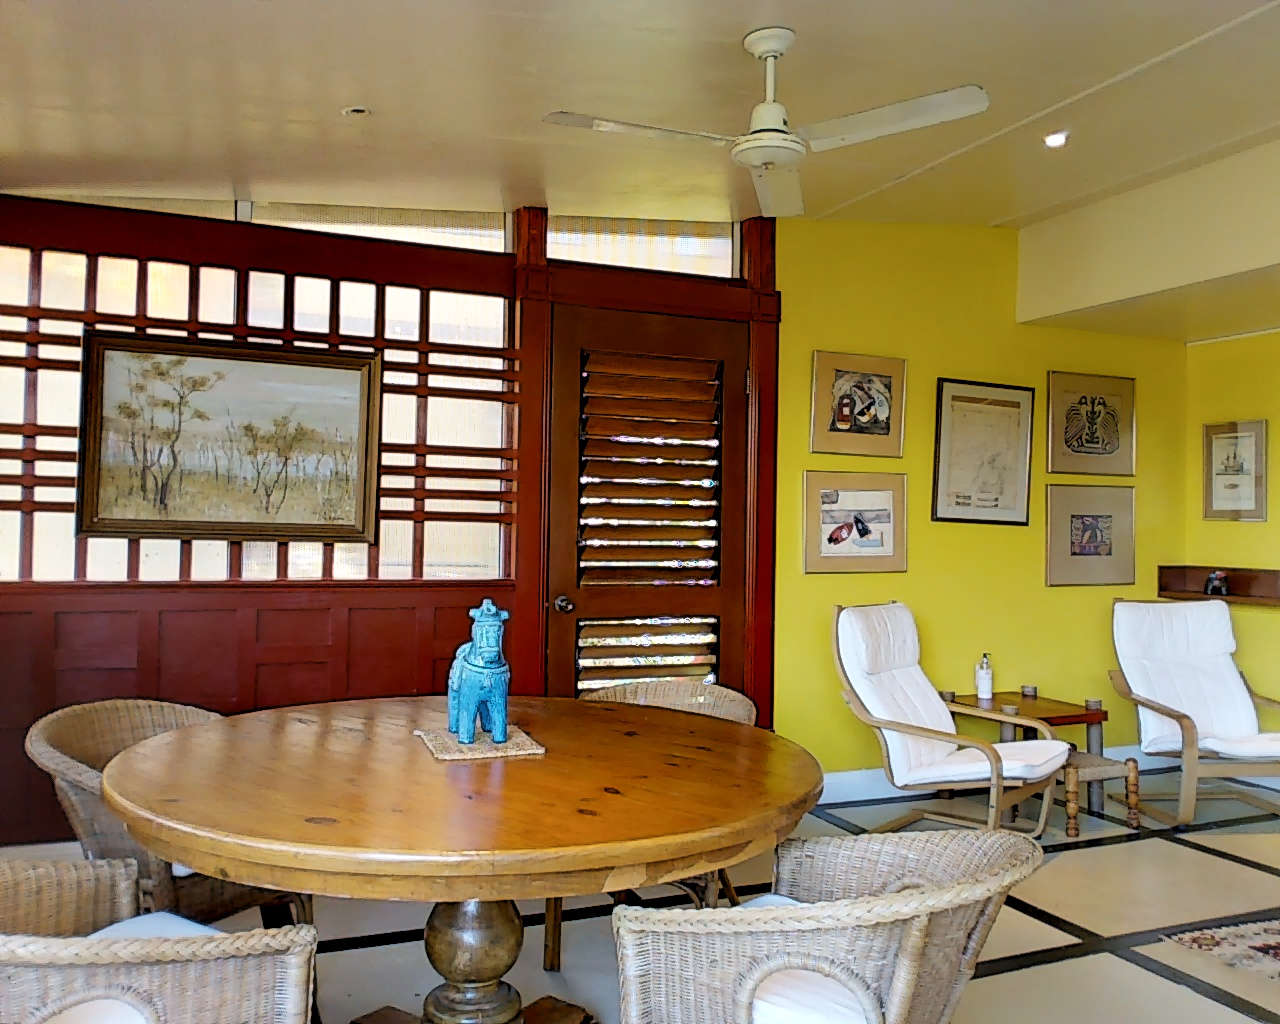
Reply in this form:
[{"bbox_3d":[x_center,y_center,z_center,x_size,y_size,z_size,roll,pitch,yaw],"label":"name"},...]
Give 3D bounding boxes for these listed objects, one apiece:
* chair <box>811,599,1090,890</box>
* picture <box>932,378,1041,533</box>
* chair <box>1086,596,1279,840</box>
[{"bbox_3d":[1.270,0.870,4.380,0.860,0.950,0.750,0,-1,39],"label":"chair"},{"bbox_3d":[1.719,-0.270,5.320,0.620,0.740,0.050,1,-1,-22],"label":"picture"},{"bbox_3d":[2.609,0.890,4.890,0.770,0.950,0.850,1,-1,-4],"label":"chair"}]
